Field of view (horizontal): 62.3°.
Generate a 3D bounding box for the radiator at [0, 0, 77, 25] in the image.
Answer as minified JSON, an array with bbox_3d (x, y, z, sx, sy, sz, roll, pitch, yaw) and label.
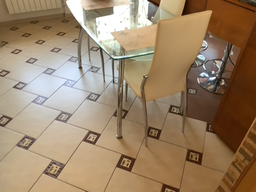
[{"bbox_3d":[-1.400,-1.590,3.280,1.060,0.770,0.210,-15,43,-19],"label":"radiator"}]
